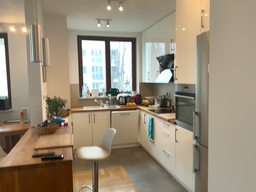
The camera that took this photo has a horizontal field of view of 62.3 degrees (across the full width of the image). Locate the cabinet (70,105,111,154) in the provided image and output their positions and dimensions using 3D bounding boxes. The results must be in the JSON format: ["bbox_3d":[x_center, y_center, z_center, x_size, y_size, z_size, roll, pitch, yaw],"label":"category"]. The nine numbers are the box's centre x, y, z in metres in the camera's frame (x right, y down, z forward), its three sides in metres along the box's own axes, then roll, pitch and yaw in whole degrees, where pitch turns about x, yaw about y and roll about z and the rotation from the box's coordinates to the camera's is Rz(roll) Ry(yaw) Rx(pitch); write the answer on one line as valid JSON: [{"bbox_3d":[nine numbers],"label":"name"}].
[{"bbox_3d":[-0.830,0.690,4.650,0.810,0.900,0.600,-2,5,-16],"label":"cabinet"}]

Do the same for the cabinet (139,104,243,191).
[{"bbox_3d":[0.830,0.750,3.640,0.610,0.920,2.240,-2,5,-15],"label":"cabinet"}]
